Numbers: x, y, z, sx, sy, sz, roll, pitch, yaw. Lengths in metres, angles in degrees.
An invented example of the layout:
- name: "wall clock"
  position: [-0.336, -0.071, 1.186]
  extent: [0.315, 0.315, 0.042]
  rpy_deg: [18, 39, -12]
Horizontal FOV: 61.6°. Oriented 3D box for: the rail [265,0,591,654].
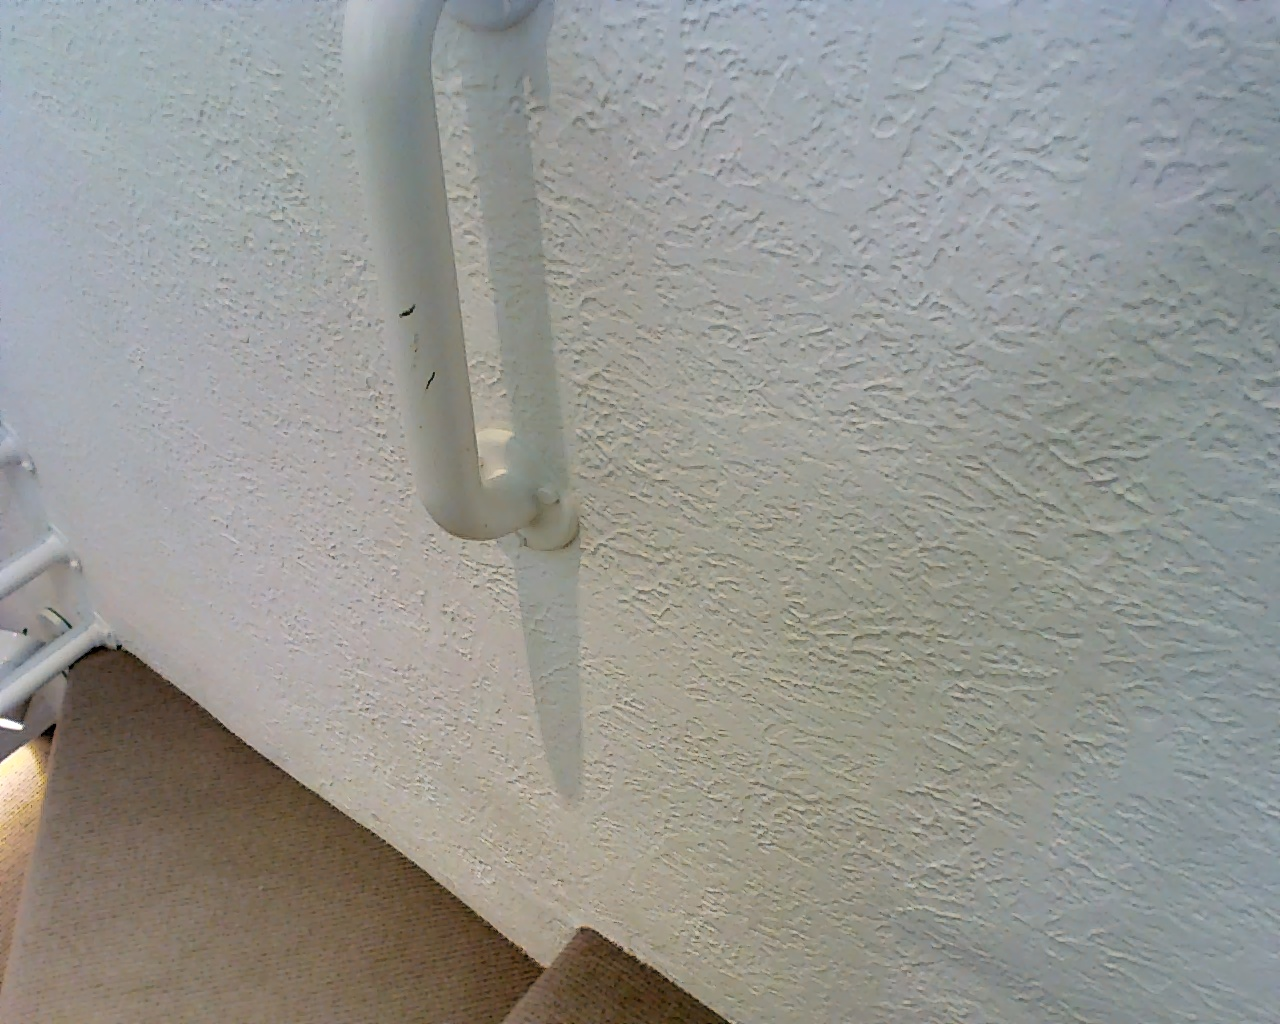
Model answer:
- name: "rail"
  position: [-0.120, -0.140, 0.700]
  extent: [0.130, 0.530, 0.100]
  rpy_deg: [26, 48, 25]
